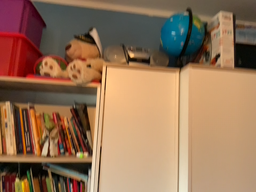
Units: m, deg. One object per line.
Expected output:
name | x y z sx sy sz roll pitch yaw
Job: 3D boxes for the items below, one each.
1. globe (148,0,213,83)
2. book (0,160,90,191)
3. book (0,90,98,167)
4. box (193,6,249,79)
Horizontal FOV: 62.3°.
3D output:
globe | 0.300 -0.310 1.320 0.240 0.370 0.430 4 -8 -8
book | -0.590 0.510 1.130 0.740 0.270 0.300 4 -8 -10
book | -0.560 0.170 1.150 0.740 0.350 0.320 4 -8 -12
box | 0.520 -0.290 1.230 0.170 0.310 0.290 4 -8 -7
